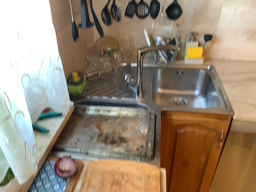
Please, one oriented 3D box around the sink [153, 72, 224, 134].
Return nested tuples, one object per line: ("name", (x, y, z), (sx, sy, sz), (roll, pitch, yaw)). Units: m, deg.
("sink", (0.330, 0.020, 1.260), (0.340, 0.140, 0.390), (4, 35, 6))
